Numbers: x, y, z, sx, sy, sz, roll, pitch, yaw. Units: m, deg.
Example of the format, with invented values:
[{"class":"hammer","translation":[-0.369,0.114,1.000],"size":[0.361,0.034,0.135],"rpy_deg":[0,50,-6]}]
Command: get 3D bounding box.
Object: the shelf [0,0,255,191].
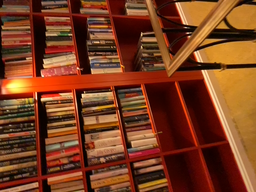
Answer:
[{"class":"shelf","translation":[-0.370,-0.600,1.960],"size":[0.460,2.060,3.690],"rpy_deg":[122,139,-61]}]
